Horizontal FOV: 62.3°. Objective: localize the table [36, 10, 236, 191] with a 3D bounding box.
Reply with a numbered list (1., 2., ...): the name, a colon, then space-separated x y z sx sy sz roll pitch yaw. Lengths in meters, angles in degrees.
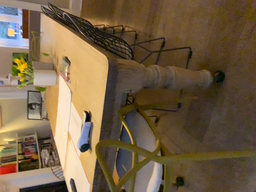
1. table: -0.370 -0.170 2.080 2.390 0.740 0.980 42 127 53
